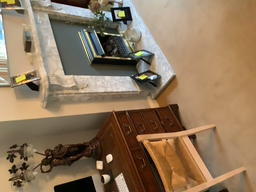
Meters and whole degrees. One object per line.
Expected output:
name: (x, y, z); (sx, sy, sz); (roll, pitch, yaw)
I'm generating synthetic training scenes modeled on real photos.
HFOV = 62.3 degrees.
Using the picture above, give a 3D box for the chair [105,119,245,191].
chair: (0.350, 0.540, 1.640); (0.510, 0.840, 0.410); (-58, 48, 41)
